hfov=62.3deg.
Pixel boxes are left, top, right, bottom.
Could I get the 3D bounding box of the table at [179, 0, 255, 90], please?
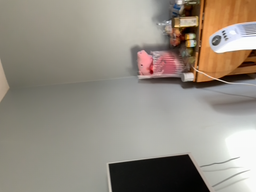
[{"bbox_3d":[0.890,-0.580,1.860,0.360,0.720,0.910,-111,17,-62],"label":"table"}]
